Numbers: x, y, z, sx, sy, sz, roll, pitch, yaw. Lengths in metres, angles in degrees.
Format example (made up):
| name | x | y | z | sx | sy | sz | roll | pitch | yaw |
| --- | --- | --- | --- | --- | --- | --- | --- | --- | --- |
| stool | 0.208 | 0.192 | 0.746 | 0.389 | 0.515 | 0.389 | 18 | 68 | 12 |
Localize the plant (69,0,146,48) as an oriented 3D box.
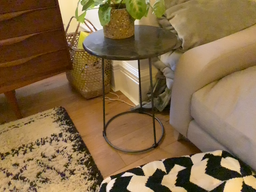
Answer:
| name | x | y | z | sx | sy | sz | roll | pitch | yaw |
| --- | --- | --- | --- | --- | --- | --- | --- | --- | --- |
| plant | -0.100 | -0.370 | 0.940 | 0.220 | 0.180 | 0.310 | -20 | 38 | -24 |
